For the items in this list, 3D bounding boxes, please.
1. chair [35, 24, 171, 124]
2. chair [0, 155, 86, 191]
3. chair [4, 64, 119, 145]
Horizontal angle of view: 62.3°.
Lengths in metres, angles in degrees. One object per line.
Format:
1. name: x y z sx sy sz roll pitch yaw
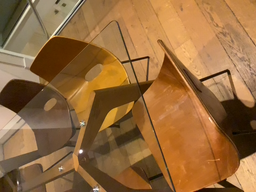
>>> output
1. chair: -0.130 -0.070 1.400 0.390 0.750 0.370 -37 62 31
2. chair: -0.810 0.810 1.860 0.370 0.750 0.390 -34 63 32
3. chair: -0.490 0.110 1.680 0.390 0.750 0.470 -16 73 38
